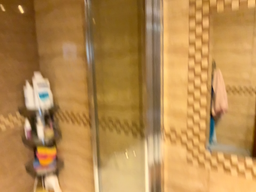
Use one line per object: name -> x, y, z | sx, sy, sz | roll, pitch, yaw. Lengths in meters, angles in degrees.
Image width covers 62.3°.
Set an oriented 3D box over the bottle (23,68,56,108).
bottle -> -0.610, -0.060, 1.480 | 0.160, 0.250, 0.170 | -4, 10, -12
